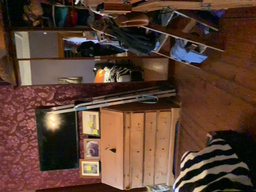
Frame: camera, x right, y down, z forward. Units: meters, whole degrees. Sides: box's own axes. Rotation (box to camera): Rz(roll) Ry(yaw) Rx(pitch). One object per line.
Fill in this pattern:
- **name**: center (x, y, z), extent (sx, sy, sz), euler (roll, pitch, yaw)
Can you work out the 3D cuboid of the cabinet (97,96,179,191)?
- **cabinet**: center (0.100, 0.780, 3.530), extent (0.600, 1.180, 1.410), euler (-120, 30, -69)
